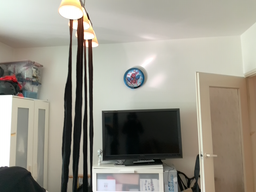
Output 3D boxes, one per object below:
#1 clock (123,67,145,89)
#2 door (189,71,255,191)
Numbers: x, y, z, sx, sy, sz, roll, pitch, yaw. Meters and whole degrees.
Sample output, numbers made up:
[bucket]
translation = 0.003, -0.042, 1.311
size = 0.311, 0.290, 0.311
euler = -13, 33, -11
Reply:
[clock]
translation = 0.080, -0.250, 2.880
size = 0.300, 0.290, 0.040
euler = -1, -5, 0
[door]
translation = 1.120, 0.700, 2.440
size = 0.870, 1.900, 0.150
euler = 2, -6, -28
